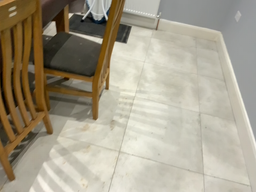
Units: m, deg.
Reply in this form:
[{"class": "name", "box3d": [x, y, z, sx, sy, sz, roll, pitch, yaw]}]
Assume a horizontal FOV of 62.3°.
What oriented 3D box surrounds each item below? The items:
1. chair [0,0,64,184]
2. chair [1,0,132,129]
[{"class": "chair", "box3d": [-0.710, -0.050, 1.100, 0.520, 1.010, 0.430, 18, 44, 6]}, {"class": "chair", "box3d": [-0.350, -0.350, 1.490, 0.600, 1.020, 0.540, 12, 43, 1]}]
